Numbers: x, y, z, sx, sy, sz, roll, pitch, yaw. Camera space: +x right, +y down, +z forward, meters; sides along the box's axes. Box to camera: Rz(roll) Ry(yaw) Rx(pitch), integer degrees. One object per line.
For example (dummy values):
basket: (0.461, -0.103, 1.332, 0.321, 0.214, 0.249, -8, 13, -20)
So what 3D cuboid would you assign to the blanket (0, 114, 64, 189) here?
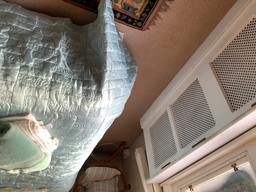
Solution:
blanket: (-0.600, 0.320, 1.100, 0.420, 0.160, 0.580, 10, 141, -20)
